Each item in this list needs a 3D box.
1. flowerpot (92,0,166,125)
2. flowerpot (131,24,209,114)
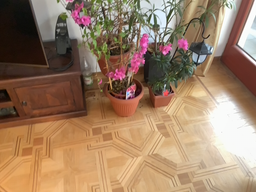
[{"bbox_3d":[-0.040,-0.310,1.580,0.330,0.920,0.540,-9,45,-11],"label":"flowerpot"},{"bbox_3d":[0.300,-0.240,1.790,0.390,0.490,0.510,-12,45,-14],"label":"flowerpot"}]
